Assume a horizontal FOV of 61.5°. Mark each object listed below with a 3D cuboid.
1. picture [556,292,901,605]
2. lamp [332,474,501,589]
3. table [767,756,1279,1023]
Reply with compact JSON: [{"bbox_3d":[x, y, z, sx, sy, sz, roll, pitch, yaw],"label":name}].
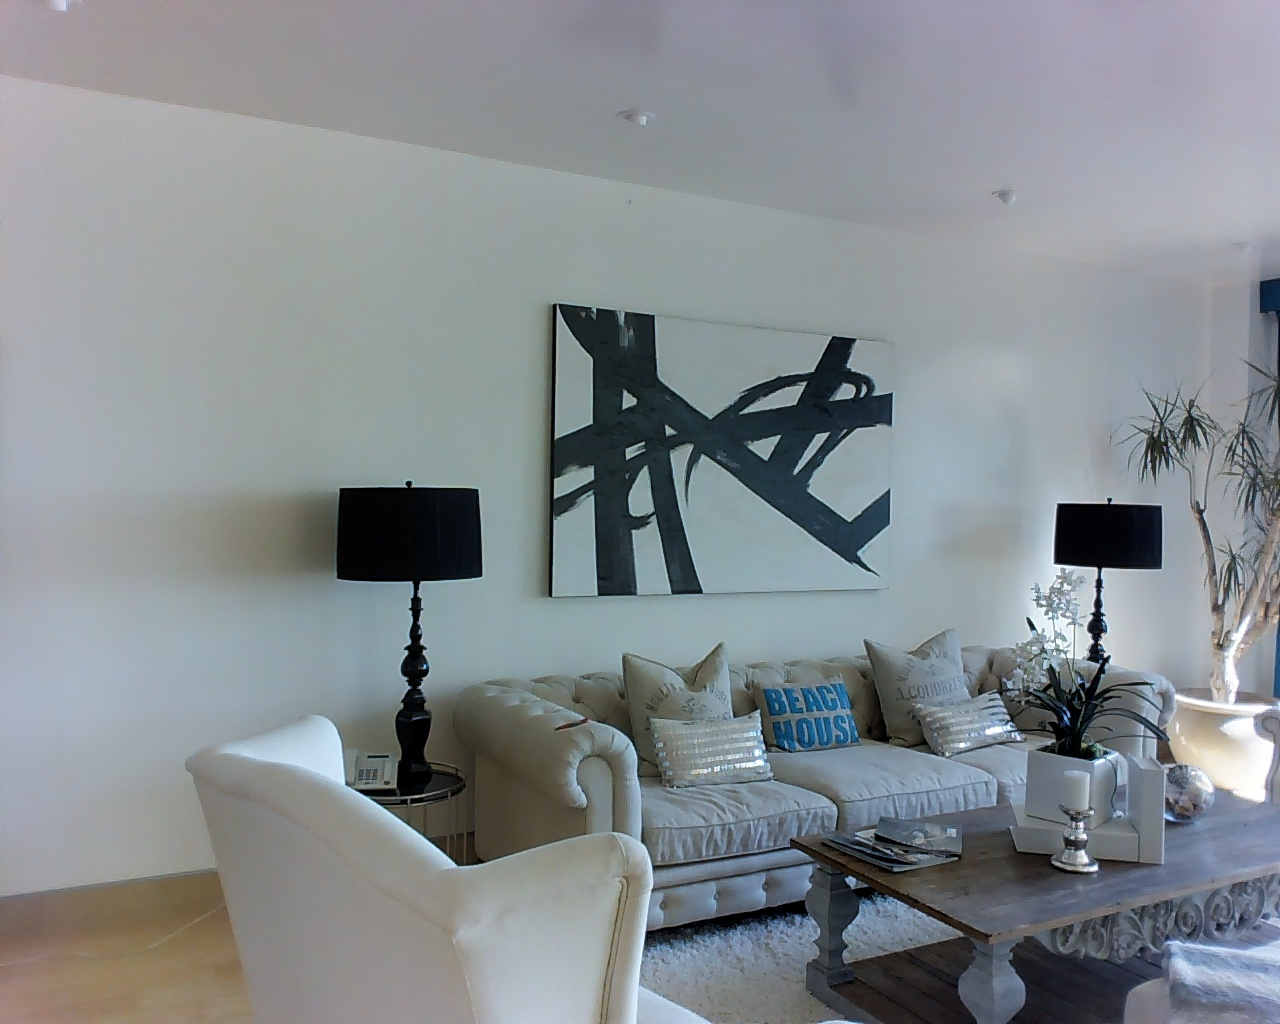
[{"bbox_3d":[0.470,-0.260,4.980,1.799,1.311,0.100,0,2,-28],"label":"picture"},{"bbox_3d":[-0.810,0.060,3.870,0.490,0.380,0.410,0,2,-30],"label":"lamp"},{"bbox_3d":[1.439,1.191,3.380,1.879,0.460,0.890,0,2,-27],"label":"table"}]
